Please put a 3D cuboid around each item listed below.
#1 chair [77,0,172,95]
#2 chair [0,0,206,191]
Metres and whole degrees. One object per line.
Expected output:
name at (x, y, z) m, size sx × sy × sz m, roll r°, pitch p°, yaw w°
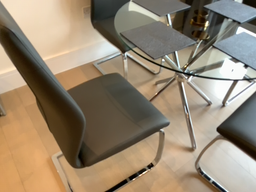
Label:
chair at (-0.050, -0.630, 1.640) m, size 0.450 × 1.030 × 0.560 m, roll -28°, pitch 53°, yaw -28°
chair at (-0.150, 0.040, 0.960) m, size 0.570 × 1.030 × 0.450 m, roll -27°, pitch 52°, yaw -27°
